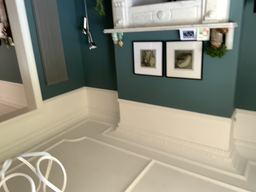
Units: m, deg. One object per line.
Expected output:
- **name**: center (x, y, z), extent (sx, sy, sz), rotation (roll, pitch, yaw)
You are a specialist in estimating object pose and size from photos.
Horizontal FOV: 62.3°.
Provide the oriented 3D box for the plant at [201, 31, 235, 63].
- **plant**: center (1.110, -0.610, 2.620), extent (0.320, 0.350, 0.230), rotation (9, -158, 32)
